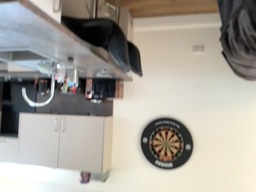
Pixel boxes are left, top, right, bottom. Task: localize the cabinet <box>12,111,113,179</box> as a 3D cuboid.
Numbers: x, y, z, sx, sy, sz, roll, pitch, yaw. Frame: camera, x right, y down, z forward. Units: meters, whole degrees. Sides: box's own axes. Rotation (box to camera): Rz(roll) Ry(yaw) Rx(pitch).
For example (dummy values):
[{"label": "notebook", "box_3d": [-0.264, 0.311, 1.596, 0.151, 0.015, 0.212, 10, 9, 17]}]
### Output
[{"label": "cabinet", "box_3d": [-0.870, 0.610, 2.870, 1.240, 0.740, 0.380, 2, 177, 13]}]
